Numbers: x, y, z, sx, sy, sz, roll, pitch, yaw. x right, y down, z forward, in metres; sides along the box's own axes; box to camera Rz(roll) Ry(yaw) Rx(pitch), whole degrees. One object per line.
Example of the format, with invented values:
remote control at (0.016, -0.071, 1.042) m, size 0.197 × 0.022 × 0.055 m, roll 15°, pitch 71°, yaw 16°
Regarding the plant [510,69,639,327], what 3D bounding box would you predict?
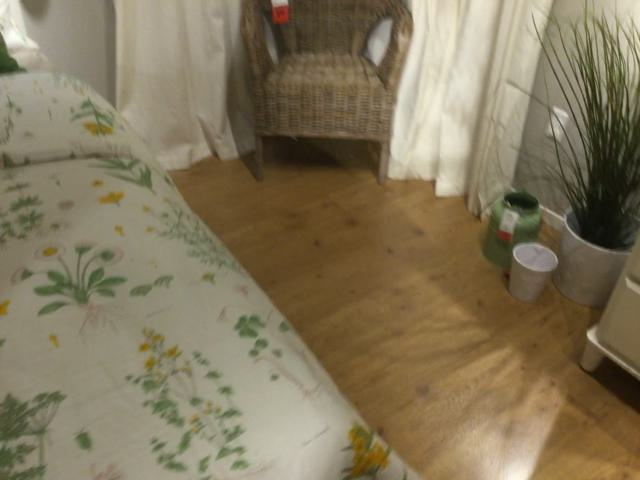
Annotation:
plant at (0.920, -0.130, 1.810) m, size 0.380 × 0.680 × 0.290 m, roll -21°, pitch 43°, yaw -30°
